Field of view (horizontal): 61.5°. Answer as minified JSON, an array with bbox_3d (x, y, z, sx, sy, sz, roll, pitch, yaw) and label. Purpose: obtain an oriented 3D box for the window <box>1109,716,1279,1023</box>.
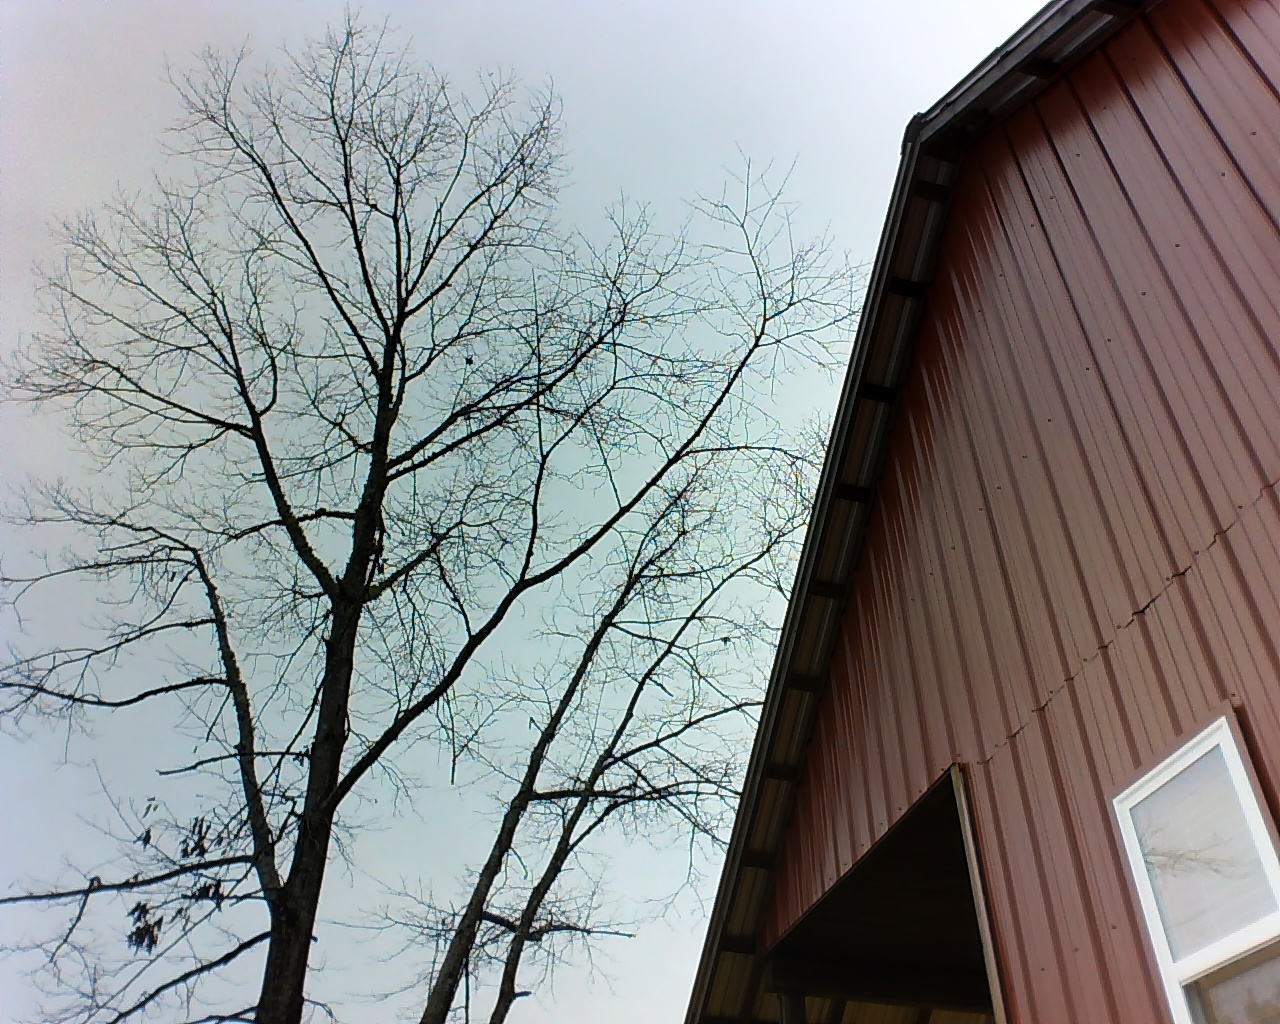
[{"bbox_3d":[1.740,1.310,3.130,0.060,1.270,0.630,10,-42,-10],"label":"window"}]
